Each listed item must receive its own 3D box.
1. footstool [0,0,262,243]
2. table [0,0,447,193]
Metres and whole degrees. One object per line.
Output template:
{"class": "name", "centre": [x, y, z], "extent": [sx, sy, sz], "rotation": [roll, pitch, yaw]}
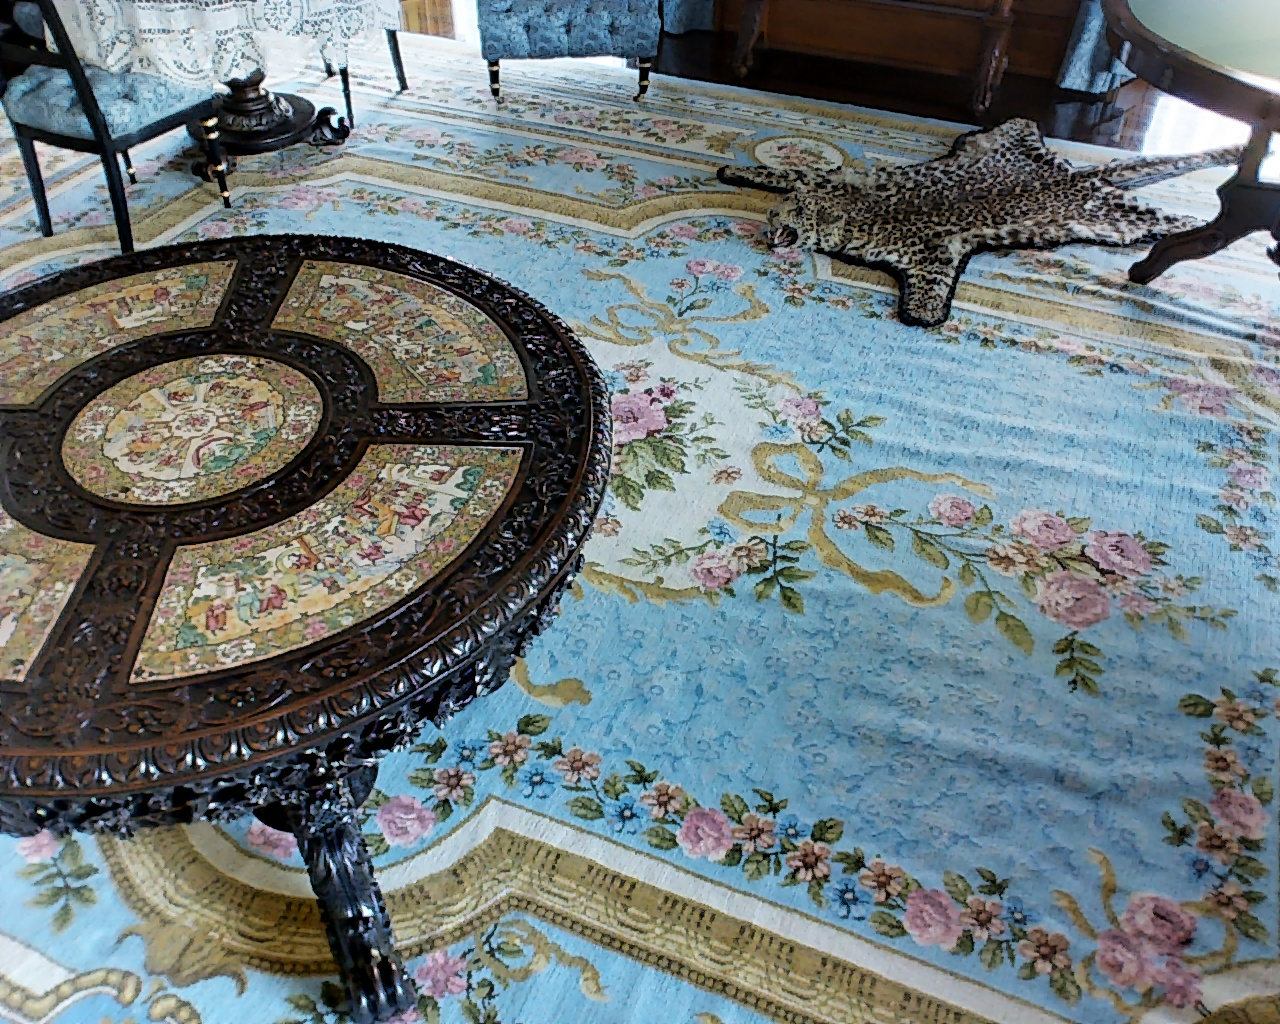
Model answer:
{"class": "footstool", "centre": [-1.590, -1.280, 3.160], "extent": [0.570, 0.680, 0.520], "rotation": [22, 47, 22]}
{"class": "table", "centre": [-1.340, -1.650, 3.560], "extent": [1.150, 0.720, 1.100], "rotation": [1, 42, 1]}
